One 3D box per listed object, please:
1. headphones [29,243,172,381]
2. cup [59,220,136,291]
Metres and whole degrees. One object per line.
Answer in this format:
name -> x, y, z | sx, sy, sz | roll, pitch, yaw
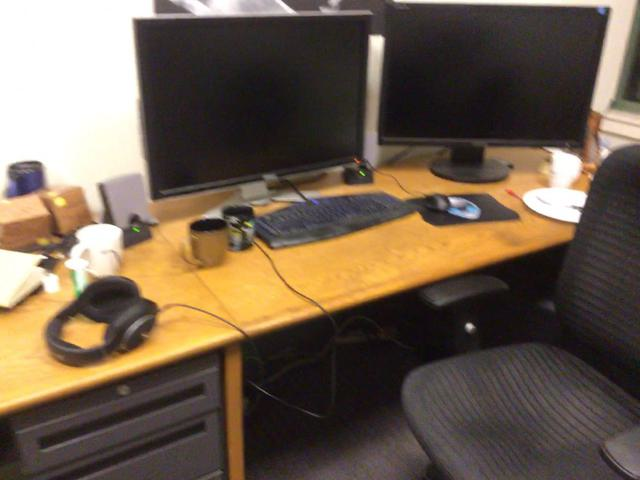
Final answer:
headphones -> -0.420, 0.120, 1.090 | 0.180, 0.100, 0.280 | -14, 28, -30
cup -> -0.490, 0.030, 1.270 | 0.120, 0.090, 0.130 | -14, 28, -30
